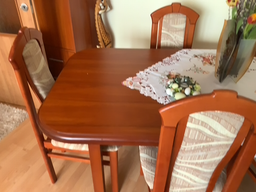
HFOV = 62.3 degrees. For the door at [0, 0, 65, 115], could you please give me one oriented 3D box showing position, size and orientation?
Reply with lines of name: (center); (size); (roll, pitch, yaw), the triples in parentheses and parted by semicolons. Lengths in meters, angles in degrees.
door: (-1.060, -0.740, 1.660); (0.840, 1.980, 0.150); (10, 36, 12)
